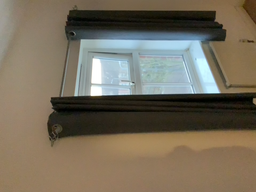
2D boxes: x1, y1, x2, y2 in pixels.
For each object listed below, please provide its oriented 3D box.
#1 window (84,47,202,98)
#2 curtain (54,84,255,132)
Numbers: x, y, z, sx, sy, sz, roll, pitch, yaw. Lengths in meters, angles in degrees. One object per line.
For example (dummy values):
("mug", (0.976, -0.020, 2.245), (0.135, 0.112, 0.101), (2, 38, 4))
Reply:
("window", (0.130, -0.240, 2.060), (0.060, 1.050, 0.590), (96, 173, -52))
("curtain", (0.290, 0.080, 1.410), (0.140, 1.450, 0.280), (96, 173, -51))
